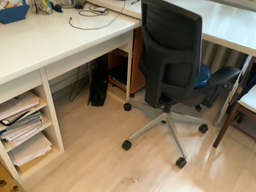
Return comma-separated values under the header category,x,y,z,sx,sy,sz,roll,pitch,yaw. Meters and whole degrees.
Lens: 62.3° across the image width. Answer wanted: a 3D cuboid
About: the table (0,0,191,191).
category,x,y,z,sx,sy,sz,roll,pitch,yaw
table,-0.270,-0.290,1.700,0.610,0.830,1.790,30,46,27
